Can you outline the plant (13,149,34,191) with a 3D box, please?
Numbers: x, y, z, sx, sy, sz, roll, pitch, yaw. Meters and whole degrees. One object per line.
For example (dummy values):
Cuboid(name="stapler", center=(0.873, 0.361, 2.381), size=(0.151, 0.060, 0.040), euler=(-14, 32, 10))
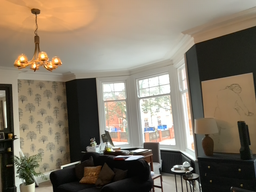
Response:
Cuboid(name="plant", center=(-2.360, 1.630, 4.770), size=(0.270, 0.780, 0.560), euler=(-1, -5, -41))
